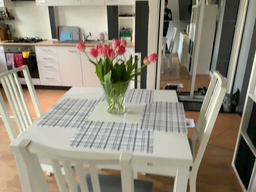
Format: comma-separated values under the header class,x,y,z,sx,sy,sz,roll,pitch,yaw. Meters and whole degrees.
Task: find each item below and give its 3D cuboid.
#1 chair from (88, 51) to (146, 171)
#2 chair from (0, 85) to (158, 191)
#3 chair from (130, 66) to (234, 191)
class,x,y,z,sx,sy,sz,roll,pitch,yaw
chair,-0.070,0.120,1.980,0.430,0.980,0.520,2,22,4
chair,-0.120,0.510,1.000,0.430,0.980,0.520,4,22,10
chair,0.320,0.330,1.480,0.520,0.960,0.430,6,22,13
